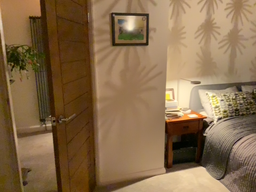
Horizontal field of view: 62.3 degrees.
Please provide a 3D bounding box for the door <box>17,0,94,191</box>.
[{"bbox_3d":[-0.450,0.170,1.610,0.050,2.080,0.870,1,13,7],"label":"door"}]

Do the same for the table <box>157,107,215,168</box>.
[{"bbox_3d":[0.770,0.540,2.900,0.580,0.620,0.450,-5,13,-17],"label":"table"}]
